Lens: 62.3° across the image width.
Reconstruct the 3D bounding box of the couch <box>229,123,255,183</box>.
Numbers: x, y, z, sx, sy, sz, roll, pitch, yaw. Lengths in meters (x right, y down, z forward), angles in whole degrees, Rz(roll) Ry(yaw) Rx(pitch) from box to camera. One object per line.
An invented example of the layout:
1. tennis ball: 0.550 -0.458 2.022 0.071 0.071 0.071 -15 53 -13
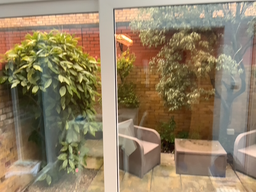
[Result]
1. couch: 2.180 0.930 3.490 0.670 0.720 0.620 -7 12 -34
